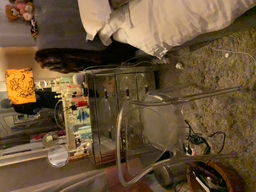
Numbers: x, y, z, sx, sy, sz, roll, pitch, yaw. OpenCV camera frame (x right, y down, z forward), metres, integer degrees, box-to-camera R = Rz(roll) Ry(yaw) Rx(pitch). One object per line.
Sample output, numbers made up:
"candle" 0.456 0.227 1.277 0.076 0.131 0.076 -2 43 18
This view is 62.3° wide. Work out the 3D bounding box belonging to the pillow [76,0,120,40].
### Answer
"pillow" -0.250 -0.810 1.490 0.190 0.400 0.720 -7 92 -21
